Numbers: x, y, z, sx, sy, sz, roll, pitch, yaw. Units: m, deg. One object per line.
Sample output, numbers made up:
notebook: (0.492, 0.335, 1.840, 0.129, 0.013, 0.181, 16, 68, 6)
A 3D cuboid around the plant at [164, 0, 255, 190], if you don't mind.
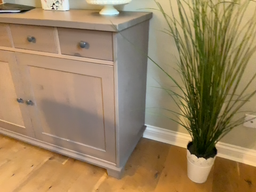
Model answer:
plant: (0.420, 0.010, 1.140, 0.310, 0.950, 0.300, 12, 30, 21)
